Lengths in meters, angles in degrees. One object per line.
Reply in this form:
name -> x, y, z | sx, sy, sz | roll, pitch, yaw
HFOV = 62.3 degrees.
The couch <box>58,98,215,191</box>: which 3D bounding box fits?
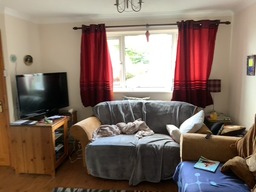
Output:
couch -> 0.130, 0.600, 3.160 | 1.910, 0.950, 1.050 | 1, 9, 8
